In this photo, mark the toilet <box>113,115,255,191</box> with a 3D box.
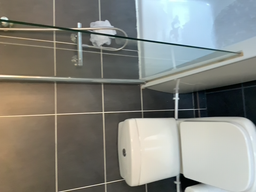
[{"bbox_3d":[0.420,0.330,1.280,0.690,0.790,0.390,-11,80,62],"label":"toilet"}]
